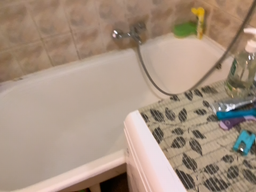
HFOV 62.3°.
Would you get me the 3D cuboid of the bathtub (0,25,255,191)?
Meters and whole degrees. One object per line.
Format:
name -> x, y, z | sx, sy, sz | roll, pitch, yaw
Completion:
bathtub -> -0.050, 0.180, 1.240 | 1.420, 0.600, 0.680 | -19, 47, -12
